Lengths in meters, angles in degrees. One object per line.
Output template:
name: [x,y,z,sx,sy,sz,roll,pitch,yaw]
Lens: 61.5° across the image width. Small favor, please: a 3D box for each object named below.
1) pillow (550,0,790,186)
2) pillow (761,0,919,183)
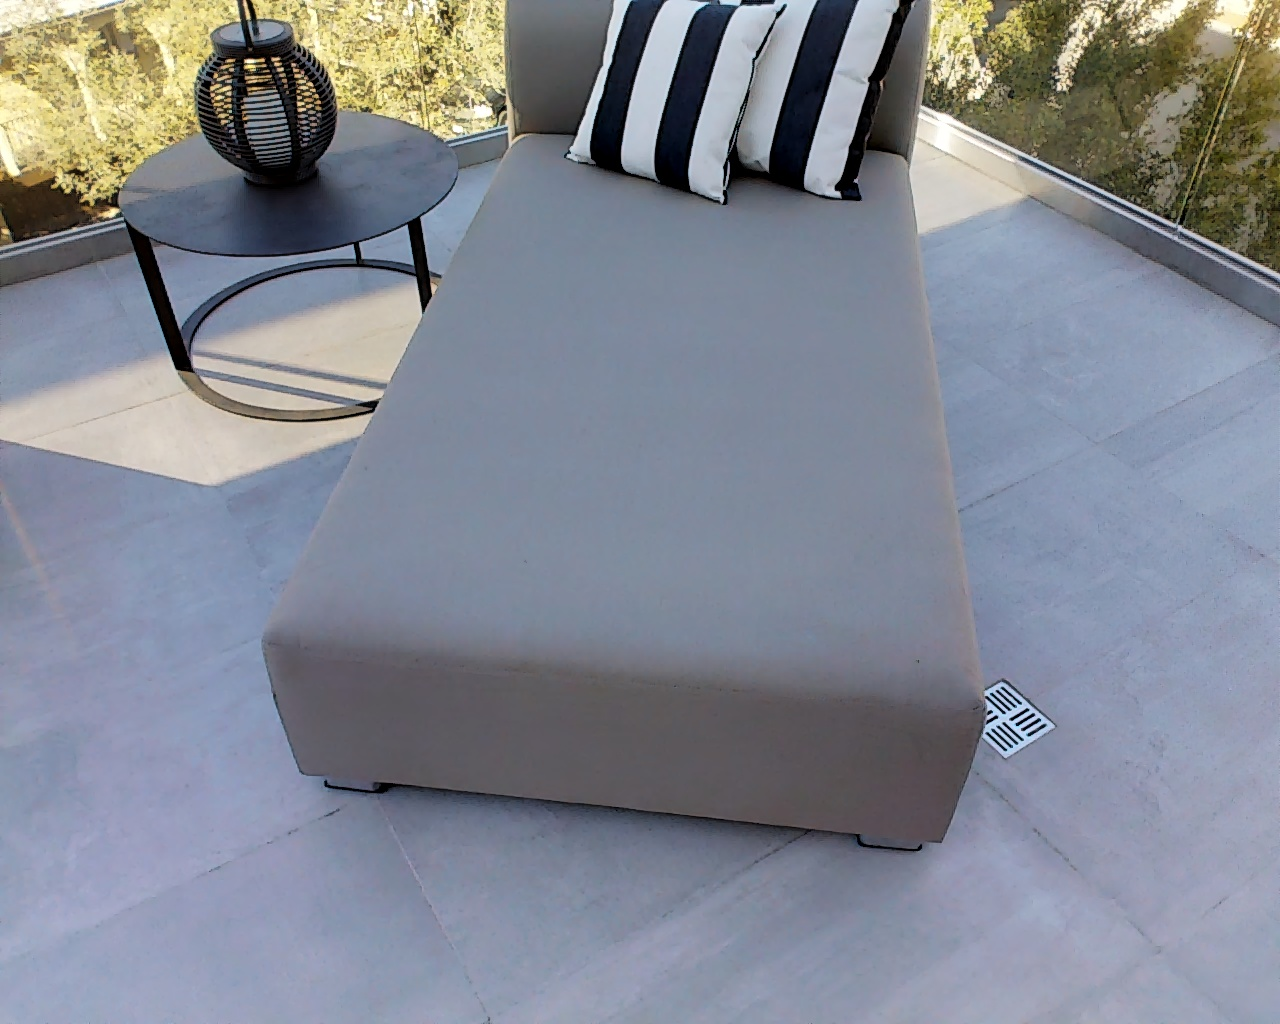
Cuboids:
pillow: [0.070,-1.080,2.600,0.480,0.490,0.210,7,29,38]
pillow: [0.480,-1.030,2.550,0.290,0.430,0.210,16,37,37]
